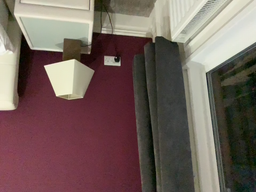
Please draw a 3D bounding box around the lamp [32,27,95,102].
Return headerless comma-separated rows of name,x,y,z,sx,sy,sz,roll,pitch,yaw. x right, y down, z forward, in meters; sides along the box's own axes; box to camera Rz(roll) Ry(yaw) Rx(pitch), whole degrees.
lamp,-0.430,-0.190,1.500,0.360,0.390,0.390,1,166,-12
